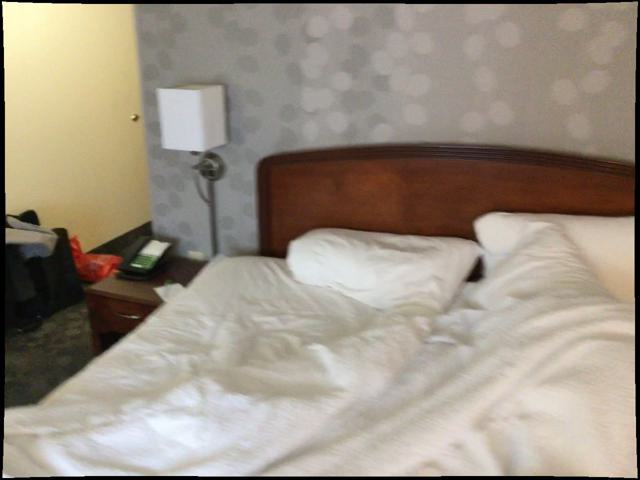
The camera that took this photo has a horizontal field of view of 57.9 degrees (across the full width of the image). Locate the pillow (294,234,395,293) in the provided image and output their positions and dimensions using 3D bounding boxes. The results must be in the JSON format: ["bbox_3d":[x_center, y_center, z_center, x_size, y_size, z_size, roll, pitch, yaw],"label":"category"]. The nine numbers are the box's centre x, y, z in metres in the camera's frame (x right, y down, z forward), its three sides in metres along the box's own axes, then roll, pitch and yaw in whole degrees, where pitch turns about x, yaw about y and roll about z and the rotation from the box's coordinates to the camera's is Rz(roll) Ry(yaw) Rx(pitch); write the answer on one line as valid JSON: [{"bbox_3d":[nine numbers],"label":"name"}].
[{"bbox_3d":[0.090,0.080,2.080,0.330,0.110,0.160,8,24,16],"label":"pillow"}]

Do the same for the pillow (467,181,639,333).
[{"bbox_3d":[0.879,0.050,1.920,0.699,0.350,0.300,8,24,16],"label":"pillow"}]

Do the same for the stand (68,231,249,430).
[{"bbox_3d":[-0.639,0.350,2.440,0.490,0.580,0.510,8,24,16],"label":"stand"}]
